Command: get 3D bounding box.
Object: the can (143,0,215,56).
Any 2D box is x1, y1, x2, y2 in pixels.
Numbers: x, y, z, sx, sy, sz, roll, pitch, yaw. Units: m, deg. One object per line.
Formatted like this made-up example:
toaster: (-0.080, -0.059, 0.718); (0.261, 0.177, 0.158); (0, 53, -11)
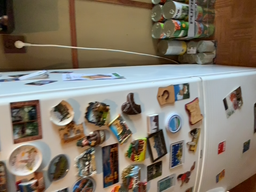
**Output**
can: (0.320, -0.510, 1.350); (0.280, 0.330, 0.490); (19, 112, 54)
